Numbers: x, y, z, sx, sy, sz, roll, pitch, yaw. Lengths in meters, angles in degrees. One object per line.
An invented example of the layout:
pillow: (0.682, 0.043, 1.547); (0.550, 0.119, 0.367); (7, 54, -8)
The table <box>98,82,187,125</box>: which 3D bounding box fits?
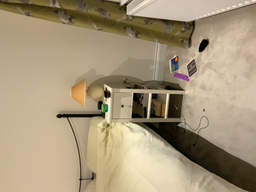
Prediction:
table: (0.120, 0.070, 2.320); (0.580, 0.780, 0.320); (-148, 63, -70)
